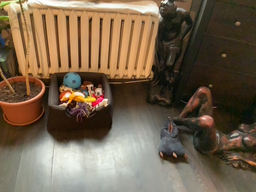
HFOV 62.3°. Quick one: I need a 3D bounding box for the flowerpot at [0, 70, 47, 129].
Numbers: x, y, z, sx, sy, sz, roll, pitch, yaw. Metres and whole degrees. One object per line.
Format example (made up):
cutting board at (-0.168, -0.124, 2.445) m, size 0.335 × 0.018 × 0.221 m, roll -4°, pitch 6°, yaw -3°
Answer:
flowerpot at (-0.790, 0.010, 1.570) m, size 0.300 × 0.230 × 0.390 m, roll -3°, pitch 40°, yaw -13°
